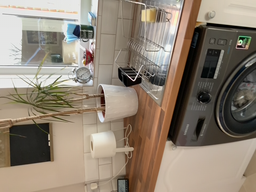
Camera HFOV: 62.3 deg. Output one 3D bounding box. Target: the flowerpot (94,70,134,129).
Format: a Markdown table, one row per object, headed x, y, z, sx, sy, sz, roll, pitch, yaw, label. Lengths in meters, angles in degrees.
| x | y | z | sx | sy | sz | roll | pitch | yaw | label |
| --- | --- | --- | --- | --- | --- | --- | --- | --- | --- |
| -0.110 | 0.010 | 1.430 | 0.290 | 0.170 | 0.300 | -135 | 46 | -59 | flowerpot |
